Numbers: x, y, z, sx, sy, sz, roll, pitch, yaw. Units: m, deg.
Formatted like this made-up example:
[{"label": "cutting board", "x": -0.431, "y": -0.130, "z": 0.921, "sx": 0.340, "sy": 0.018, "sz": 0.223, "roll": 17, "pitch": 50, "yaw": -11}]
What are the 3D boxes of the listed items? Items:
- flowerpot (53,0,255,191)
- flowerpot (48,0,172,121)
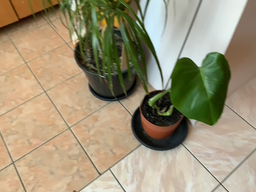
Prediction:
[{"label": "flowerpot", "x": 0.090, "y": -0.070, "z": 0.700, "sx": 0.400, "sy": 1.020, "sz": 0.450, "roll": -27, "pitch": 59, "yaw": -16}, {"label": "flowerpot", "x": -0.080, "y": -0.350, "z": 0.870, "sx": 0.370, "sy": 1.010, "sz": 0.330, "roll": -30, "pitch": 59, "yaw": -18}]
